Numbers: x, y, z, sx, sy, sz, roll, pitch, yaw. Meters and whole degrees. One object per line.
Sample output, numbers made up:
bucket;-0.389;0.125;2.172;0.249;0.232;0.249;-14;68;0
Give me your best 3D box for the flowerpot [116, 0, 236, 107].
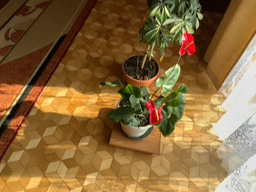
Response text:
flowerpot;0.280;-0.540;1.250;0.510;1.280;0.460;18;55;7
